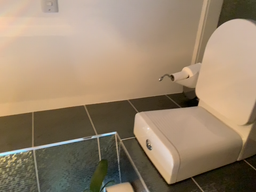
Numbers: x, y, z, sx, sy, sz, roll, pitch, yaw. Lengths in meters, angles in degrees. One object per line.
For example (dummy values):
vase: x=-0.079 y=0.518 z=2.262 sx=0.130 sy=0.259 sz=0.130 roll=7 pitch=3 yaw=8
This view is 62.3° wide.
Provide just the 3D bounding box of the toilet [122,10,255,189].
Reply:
toilet: x=0.460 y=-0.040 z=1.040 sx=0.400 sy=0.850 sz=0.640 roll=-130 pitch=39 yaw=-54
